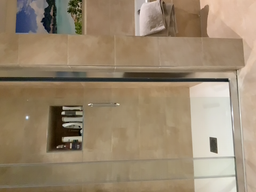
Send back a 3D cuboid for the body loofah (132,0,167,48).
[{"bbox_3d":[0.200,-0.760,2.120,0.420,0.250,0.440,143,127,-81],"label":"body loofah"}]
